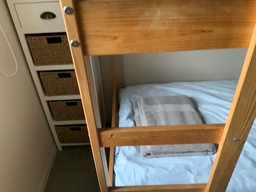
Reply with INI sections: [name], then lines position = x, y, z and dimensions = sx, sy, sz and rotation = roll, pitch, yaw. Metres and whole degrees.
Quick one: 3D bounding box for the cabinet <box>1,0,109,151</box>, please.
[cabinet]
position = -0.390, -0.130, 1.460
dimensions = 0.400, 1.150, 0.320
rotation = -2, 36, 1
